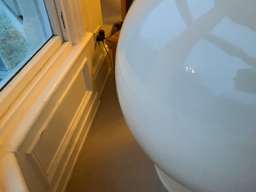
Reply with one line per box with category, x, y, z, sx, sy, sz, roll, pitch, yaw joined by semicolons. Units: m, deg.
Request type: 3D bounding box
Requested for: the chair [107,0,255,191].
chair;0.390;-0.050;0.960;0.900;1.170;1.040;-4;42;-4
